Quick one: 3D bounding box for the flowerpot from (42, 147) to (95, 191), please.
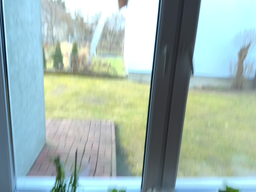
[{"bbox_3d":[-0.290,0.440,1.090,0.210,0.270,0.220,3,15,-3],"label":"flowerpot"}]
